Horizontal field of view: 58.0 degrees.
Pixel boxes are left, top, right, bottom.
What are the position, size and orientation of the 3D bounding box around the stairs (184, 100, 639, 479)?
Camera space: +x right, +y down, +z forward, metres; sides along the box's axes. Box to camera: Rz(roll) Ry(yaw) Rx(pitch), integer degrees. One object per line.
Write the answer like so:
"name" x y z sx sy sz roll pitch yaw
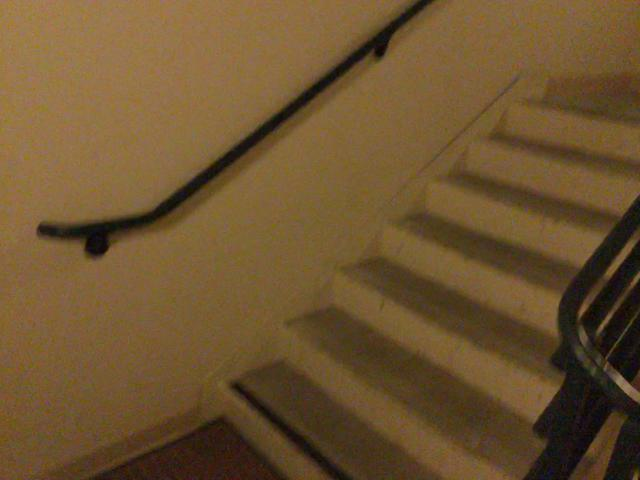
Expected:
"stairs" 0.630 0.190 2.070 1.710 0.920 1.170 -24 33 -37
